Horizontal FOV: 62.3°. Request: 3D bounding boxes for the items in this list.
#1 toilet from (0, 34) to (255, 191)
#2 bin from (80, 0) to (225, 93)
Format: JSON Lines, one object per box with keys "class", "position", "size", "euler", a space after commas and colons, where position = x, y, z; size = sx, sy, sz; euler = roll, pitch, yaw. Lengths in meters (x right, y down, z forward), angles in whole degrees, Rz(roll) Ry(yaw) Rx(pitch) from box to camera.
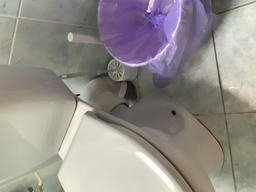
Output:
{"class": "toilet", "position": [-0.070, 0.180, 0.600], "size": [0.700, 0.750, 0.370], "euler": [42, 120, 23]}
{"class": "bin", "position": [0.070, -0.230, 0.710], "size": [0.330, 0.240, 0.270], "euler": [38, 119, 25]}
